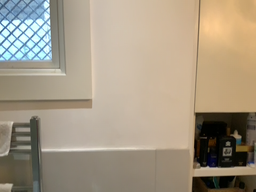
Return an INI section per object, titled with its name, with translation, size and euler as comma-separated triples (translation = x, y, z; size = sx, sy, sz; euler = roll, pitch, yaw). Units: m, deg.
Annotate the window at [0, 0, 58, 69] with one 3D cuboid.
[window]
translation = -0.750, -0.450, 1.280
size = 0.610, 0.560, 0.070
euler = 0, 7, -2
